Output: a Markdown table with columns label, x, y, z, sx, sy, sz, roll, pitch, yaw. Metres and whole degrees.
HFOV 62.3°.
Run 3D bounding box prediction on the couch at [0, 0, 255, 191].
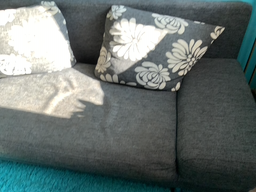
| label | x | y | z | sx | sy | sz | roll | pitch | yaw |
| --- | --- | --- | --- | --- | --- | --- | --- | --- | --- |
| couch | -0.300 | -0.070 | 1.330 | 1.980 | 0.740 | 0.980 | 6 | 44 | 9 |

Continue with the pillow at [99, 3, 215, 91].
| label | x | y | z | sx | sy | sz | roll | pitch | yaw |
| --- | --- | --- | --- | --- | --- | --- | --- | --- | --- |
| pillow | 0.160 | -0.280 | 1.300 | 0.630 | 0.450 | 0.240 | 3 | 8 | 14 |

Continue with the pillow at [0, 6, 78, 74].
| label | x | y | z | sx | sy | sz | roll | pitch | yaw |
| --- | --- | --- | --- | --- | --- | --- | --- | --- | --- |
| pillow | -0.730 | -0.380 | 1.400 | 0.700 | 0.380 | 0.310 | -1 | 25 | -2 |
